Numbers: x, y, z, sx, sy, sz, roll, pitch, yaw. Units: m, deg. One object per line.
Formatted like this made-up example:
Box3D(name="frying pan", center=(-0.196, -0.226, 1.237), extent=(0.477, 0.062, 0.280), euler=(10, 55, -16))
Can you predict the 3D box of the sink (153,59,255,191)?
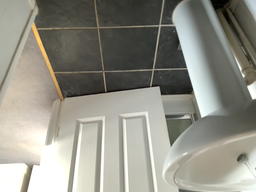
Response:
Box3D(name="sink", center=(0.330, 0.160, 0.670), extent=(0.420, 0.160, 0.600), euler=(-2, 143, -3))
